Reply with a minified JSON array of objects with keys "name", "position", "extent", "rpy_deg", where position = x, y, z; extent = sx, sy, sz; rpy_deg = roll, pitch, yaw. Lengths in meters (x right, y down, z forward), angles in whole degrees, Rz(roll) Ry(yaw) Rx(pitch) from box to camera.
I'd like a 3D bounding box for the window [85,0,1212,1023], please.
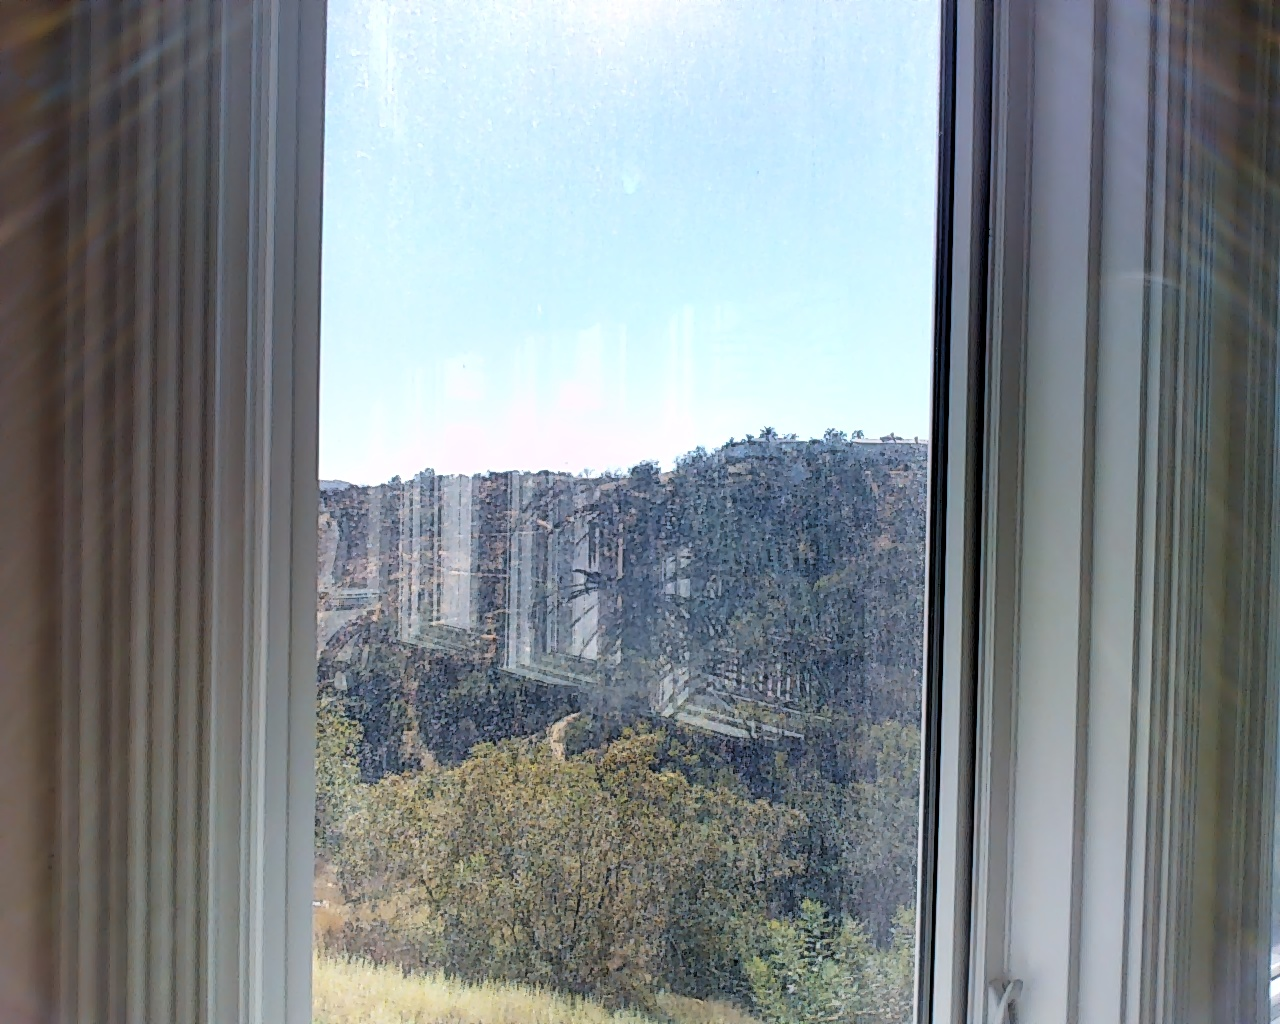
[{"name":"window","position":[0.100,0.060,0.870],"extent":[0.950,1.540,0.200],"rpy_deg":[1,1,-35]}]
